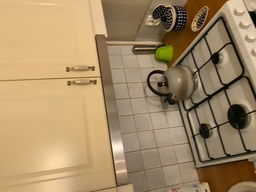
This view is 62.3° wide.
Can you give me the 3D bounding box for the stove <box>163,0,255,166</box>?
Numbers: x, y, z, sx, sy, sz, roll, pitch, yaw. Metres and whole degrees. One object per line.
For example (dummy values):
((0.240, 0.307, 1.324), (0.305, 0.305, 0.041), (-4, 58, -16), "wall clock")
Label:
((0.390, 0.000, 1.010), (0.630, 0.060, 0.590), (125, 138, -63), "stove")
